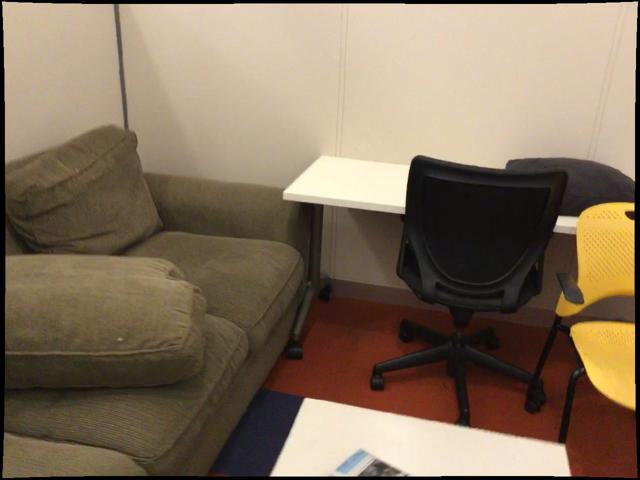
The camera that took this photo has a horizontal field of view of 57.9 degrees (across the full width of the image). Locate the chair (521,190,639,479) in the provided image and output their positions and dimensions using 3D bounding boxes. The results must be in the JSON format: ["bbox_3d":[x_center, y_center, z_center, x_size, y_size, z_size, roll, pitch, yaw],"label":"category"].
[{"bbox_3d":[1.059,0.350,1.920,0.569,0.771,0.680,11,25,13],"label":"chair"}]

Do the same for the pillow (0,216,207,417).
[{"bbox_3d":[-0.659,0.180,1.600,0.659,0.290,0.550,1,25,-9],"label":"pillow"}]

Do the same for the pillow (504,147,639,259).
[{"bbox_3d":[1.009,-0.160,2.250,0.370,0.230,0.550,3,25,-4],"label":"pillow"}]

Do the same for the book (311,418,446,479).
[{"bbox_3d":[0.130,0.511,1.300,0.270,0.050,0.130,17,27,25],"label":"book"}]

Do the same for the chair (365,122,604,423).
[{"bbox_3d":[0.589,0.100,2.200,0.629,0.921,0.460,13,26,16],"label":"chair"}]
